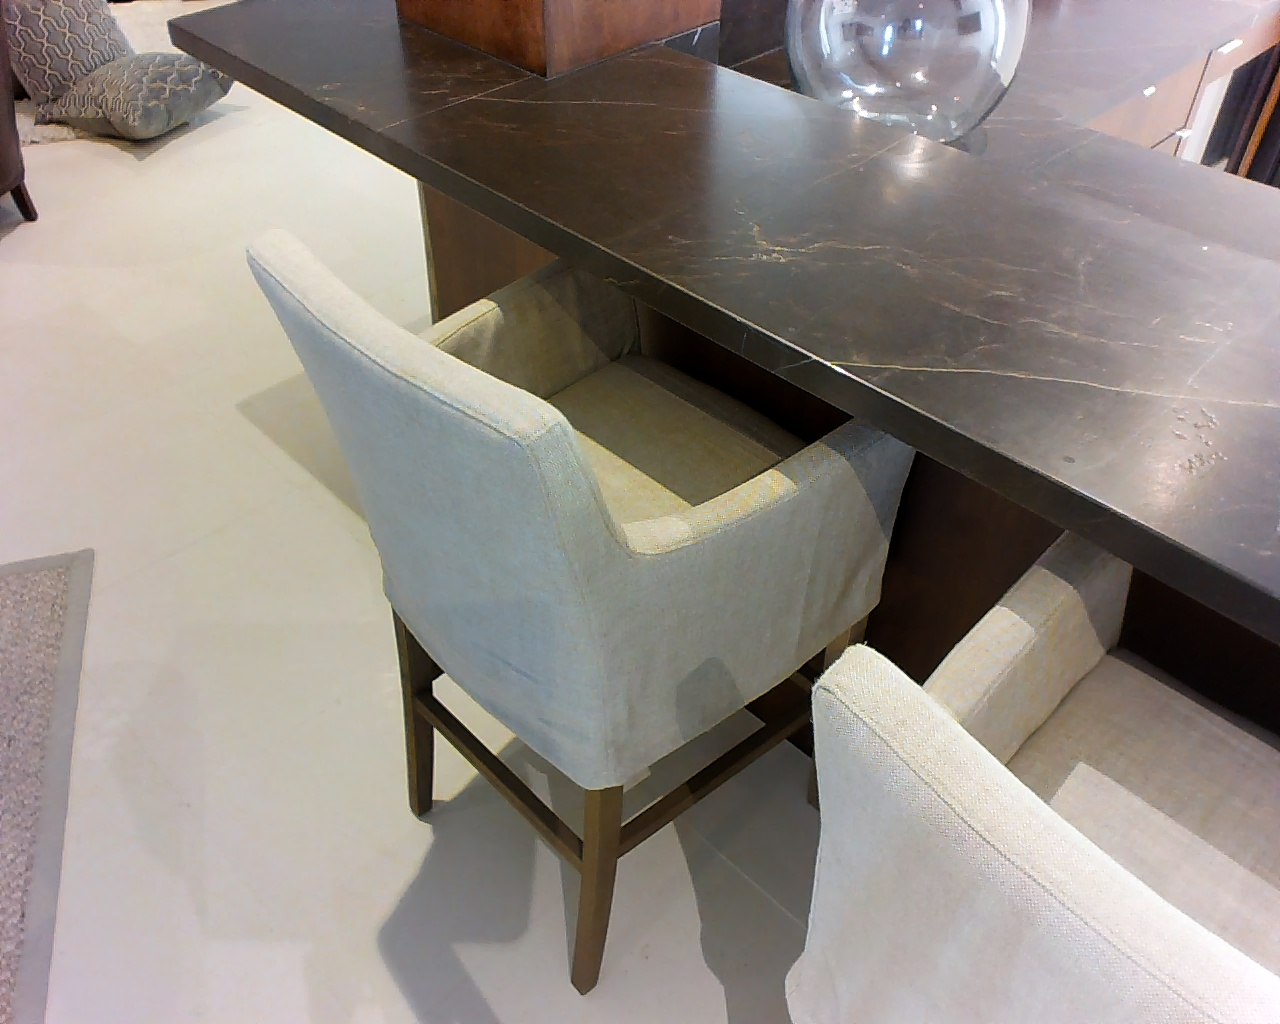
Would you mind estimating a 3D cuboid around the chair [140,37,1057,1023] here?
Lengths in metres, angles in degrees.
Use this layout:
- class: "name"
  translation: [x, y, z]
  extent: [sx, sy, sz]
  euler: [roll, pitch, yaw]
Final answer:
- class: "chair"
  translation: [-0.040, 0.090, 1.520]
  extent: [0.710, 1.150, 0.660]
  euler: [-33, 52, -31]

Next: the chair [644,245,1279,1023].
- class: "chair"
  translation: [0.510, 0.480, 1.070]
  extent: [0.700, 1.100, 0.730]
  euler: [-33, 52, -31]

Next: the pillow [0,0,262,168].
- class: "pillow"
  translation: [-1.980, -1.730, 4.000]
  extent: [0.770, 0.500, 0.620]
  euler: [23, 47, 23]
